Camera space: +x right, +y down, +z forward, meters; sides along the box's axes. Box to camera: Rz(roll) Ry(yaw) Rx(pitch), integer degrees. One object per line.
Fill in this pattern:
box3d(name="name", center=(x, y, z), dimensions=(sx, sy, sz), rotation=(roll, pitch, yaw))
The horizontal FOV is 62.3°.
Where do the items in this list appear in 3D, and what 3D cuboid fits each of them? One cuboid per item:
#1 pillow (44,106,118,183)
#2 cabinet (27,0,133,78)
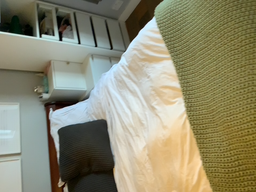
box3d(name="pillow", center=(-0.360, 0.390, 1.730), dimensions=(0.160, 0.420, 0.450), rotation=(-38, 25, 48))
box3d(name="cabinet", center=(-0.590, -0.640, 2.580), dimensions=(0.610, 1.060, 0.510), rotation=(-40, 56, 48))
